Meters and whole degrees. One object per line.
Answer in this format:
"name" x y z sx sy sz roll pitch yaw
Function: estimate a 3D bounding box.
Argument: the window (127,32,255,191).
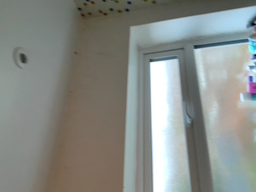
"window" 0.520 0.160 1.230 0.160 1.010 1.190 65 -157 -56
